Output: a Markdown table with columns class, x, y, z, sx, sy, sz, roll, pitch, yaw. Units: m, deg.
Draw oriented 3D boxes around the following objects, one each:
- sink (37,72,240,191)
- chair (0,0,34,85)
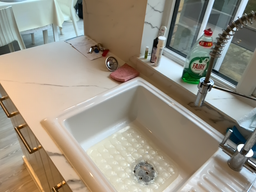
| class | x | y | z | sx | sy | sz | roll | pitch | yaw |
| --- | --- | --- | --- | --- | --- | --- | --- | --- | --- |
| sink | 0.030 | 0.210 | 0.890 | 0.550 | 0.220 | 0.570 | -27 | 51 | -34 |
| chair | -1.460 | -0.610 | 2.250 | 0.530 | 0.790 | 0.580 | -26 | 50 | -33 |
